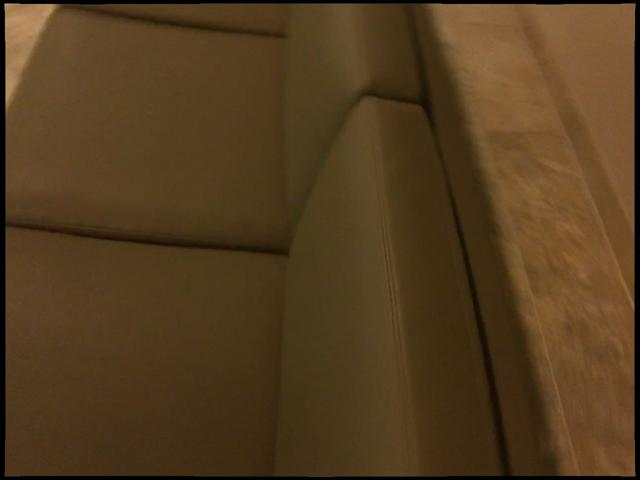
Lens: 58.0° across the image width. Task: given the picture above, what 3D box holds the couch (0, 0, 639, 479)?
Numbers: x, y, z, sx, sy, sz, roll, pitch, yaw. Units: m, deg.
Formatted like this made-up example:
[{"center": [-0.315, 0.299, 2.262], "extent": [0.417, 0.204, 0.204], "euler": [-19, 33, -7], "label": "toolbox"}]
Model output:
[{"center": [-0.190, -0.261, 1.270], "extent": [0.978, 0.721, 2.273], "euler": [0, 53, -5], "label": "couch"}]
